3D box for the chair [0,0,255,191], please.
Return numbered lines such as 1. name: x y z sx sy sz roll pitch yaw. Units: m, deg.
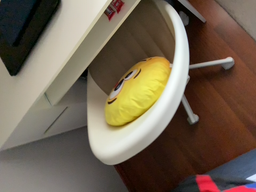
1. chair: 0.060 -0.110 0.960 0.610 0.790 0.680 -40 74 29
